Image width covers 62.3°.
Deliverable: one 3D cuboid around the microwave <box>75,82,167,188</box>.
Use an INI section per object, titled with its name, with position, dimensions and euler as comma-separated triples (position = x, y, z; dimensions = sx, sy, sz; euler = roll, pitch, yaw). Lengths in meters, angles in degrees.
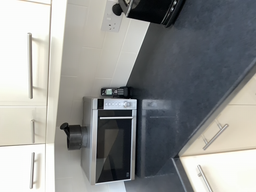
[microwave]
position = -0.080, 0.220, 1.180
dimensions = 0.380, 0.340, 0.450
euler = 125, 140, -54
